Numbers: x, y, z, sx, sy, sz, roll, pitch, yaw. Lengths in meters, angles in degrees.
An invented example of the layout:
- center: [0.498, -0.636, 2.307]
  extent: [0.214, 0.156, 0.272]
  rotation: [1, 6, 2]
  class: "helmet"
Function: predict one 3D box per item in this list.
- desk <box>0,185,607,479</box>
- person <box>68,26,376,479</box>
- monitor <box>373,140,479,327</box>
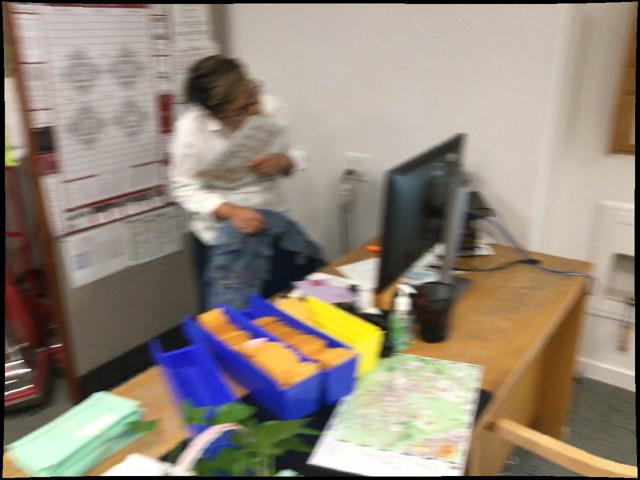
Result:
- center: [0.140, 0.541, 1.680]
  extent: [0.829, 0.831, 1.760]
  rotation: [12, 28, 34]
  class: "desk"
- center: [-0.240, 0.000, 2.110]
  extent: [0.490, 1.391, 0.830]
  rotation: [12, 28, 34]
  class: "person"
- center: [0.300, -0.030, 1.600]
  extent: [0.140, 0.410, 0.330]
  rotation: [13, 28, 34]
  class: "monitor"
